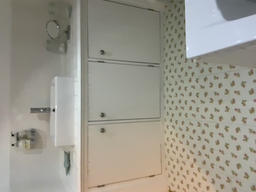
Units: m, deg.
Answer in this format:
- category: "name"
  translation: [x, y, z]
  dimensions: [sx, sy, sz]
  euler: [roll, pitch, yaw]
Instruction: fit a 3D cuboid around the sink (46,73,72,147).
- category: "sink"
  translation: [-0.570, 0.100, 1.720]
  dimensions: [0.450, 0.130, 0.520]
  euler: [-3, 87, 63]
